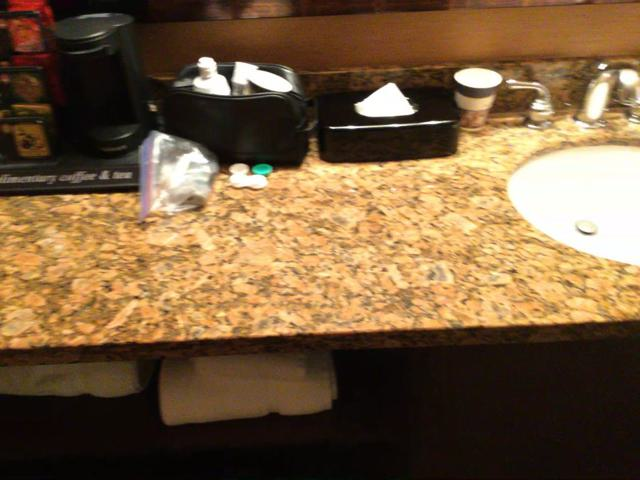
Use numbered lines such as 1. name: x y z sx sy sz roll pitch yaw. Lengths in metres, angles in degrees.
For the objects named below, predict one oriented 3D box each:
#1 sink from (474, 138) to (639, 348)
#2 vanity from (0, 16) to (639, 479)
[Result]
1. sink: 0.530 -0.020 0.980 0.420 0.170 0.340 -6 33 -3
2. vanity: -0.150 0.250 1.120 2.220 1.030 0.730 -6 33 -3
